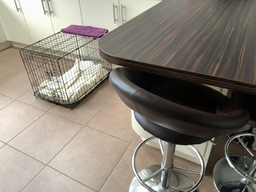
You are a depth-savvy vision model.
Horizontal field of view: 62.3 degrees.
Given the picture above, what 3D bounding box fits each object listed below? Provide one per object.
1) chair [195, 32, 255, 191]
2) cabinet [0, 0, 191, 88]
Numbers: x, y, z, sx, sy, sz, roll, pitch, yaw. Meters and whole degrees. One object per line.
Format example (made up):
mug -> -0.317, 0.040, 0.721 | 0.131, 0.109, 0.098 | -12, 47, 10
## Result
chair -> 0.720, 0.210, 1.100 | 0.480, 0.860, 0.530 | 18, 41, 25
cabinet -> -0.610, -0.950, 2.720 | 2.580, 0.890, 0.650 | 17, 40, 23
